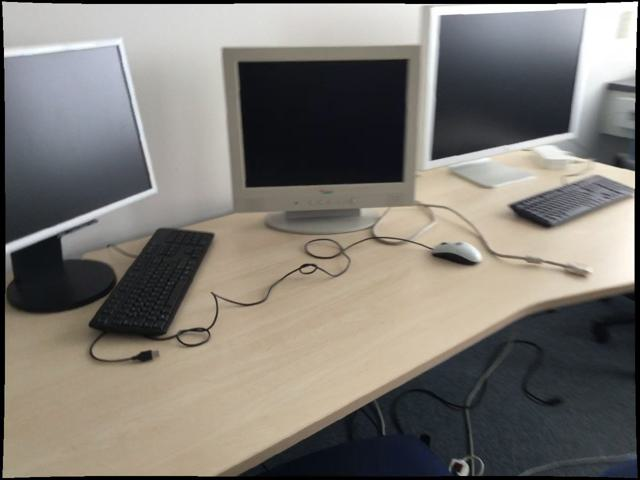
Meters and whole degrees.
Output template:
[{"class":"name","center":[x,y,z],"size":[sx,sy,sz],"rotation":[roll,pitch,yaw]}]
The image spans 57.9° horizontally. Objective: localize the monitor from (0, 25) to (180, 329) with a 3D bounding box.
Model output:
[{"class":"monitor","center":[-0.529,-0.150,1.150],"size":[0.220,0.470,0.400],"rotation":[16,31,29]}]

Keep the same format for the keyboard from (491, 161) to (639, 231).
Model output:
[{"class":"keyboard","center":[0.729,-0.140,1.690],"size":[0.470,0.030,0.200],"rotation":[-20,33,-33]}]

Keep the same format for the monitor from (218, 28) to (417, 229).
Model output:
[{"class":"monitor","center":[-0.010,-0.280,1.470],"size":[0.450,0.460,0.150],"rotation":[-4,27,-6]}]

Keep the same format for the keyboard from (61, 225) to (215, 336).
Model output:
[{"class":"keyboard","center":[-0.370,0.070,1.250],"size":[0.180,0.030,0.400],"rotation":[3,27,6]}]
